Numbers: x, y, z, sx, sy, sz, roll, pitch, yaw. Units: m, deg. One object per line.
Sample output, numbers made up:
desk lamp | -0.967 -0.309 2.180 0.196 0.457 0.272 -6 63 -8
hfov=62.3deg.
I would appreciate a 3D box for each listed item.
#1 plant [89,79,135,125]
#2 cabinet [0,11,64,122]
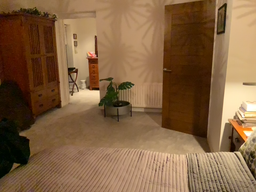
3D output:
plant | -0.270 0.080 4.070 0.690 0.690 0.680 2 14 11
cabinet | -1.960 -0.590 4.280 0.720 1.950 1.040 2 14 10
